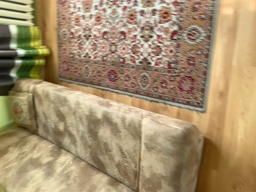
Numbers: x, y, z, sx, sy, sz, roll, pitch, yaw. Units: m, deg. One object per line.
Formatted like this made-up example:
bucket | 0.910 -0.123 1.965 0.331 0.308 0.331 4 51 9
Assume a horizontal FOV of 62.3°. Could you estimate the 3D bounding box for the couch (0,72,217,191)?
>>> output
couch | -0.530 0.410 1.770 2.080 0.860 0.960 13 105 37
